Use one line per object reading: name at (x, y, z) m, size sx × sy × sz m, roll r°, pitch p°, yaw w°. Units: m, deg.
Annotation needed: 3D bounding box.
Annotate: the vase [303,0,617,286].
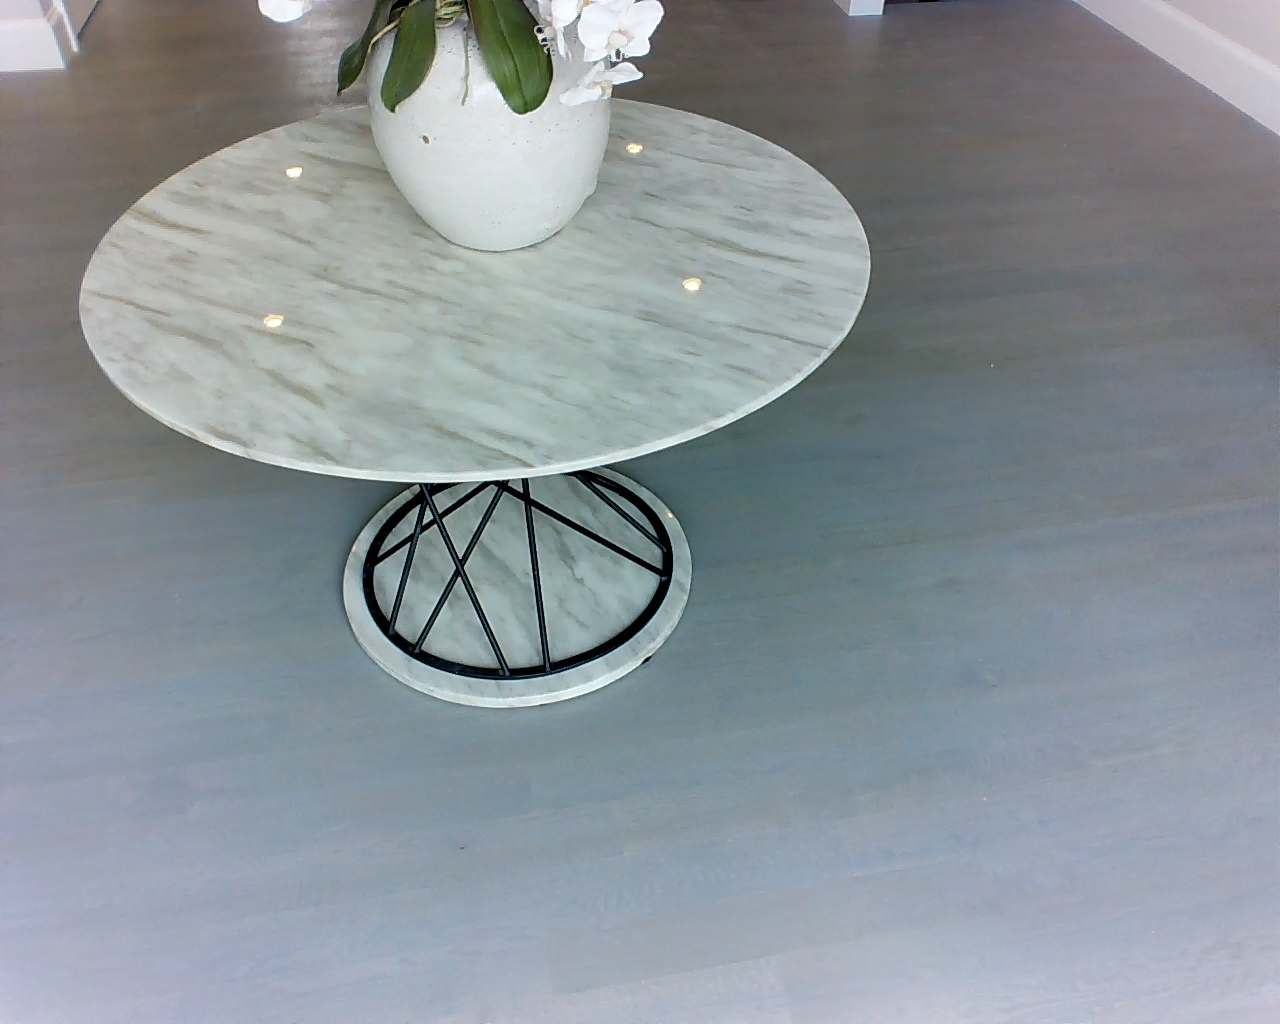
vase at (-0.230, -0.650, 1.580) m, size 0.370 × 0.490 × 0.380 m, roll 2°, pitch 42°, yaw 1°
